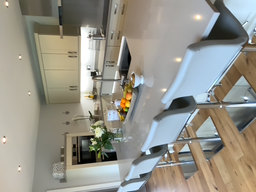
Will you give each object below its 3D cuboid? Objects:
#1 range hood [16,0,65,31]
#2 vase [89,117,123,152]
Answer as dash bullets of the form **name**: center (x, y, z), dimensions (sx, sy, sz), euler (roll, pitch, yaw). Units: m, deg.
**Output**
- **range hood**: center (-1.520, -1.590, 3.750), dimensions (0.740, 0.740, 0.300), euler (106, 157, -48)
- **vase**: center (-0.300, 0.510, 2.790), dimensions (0.330, 0.380, 0.300), euler (106, 157, -48)
